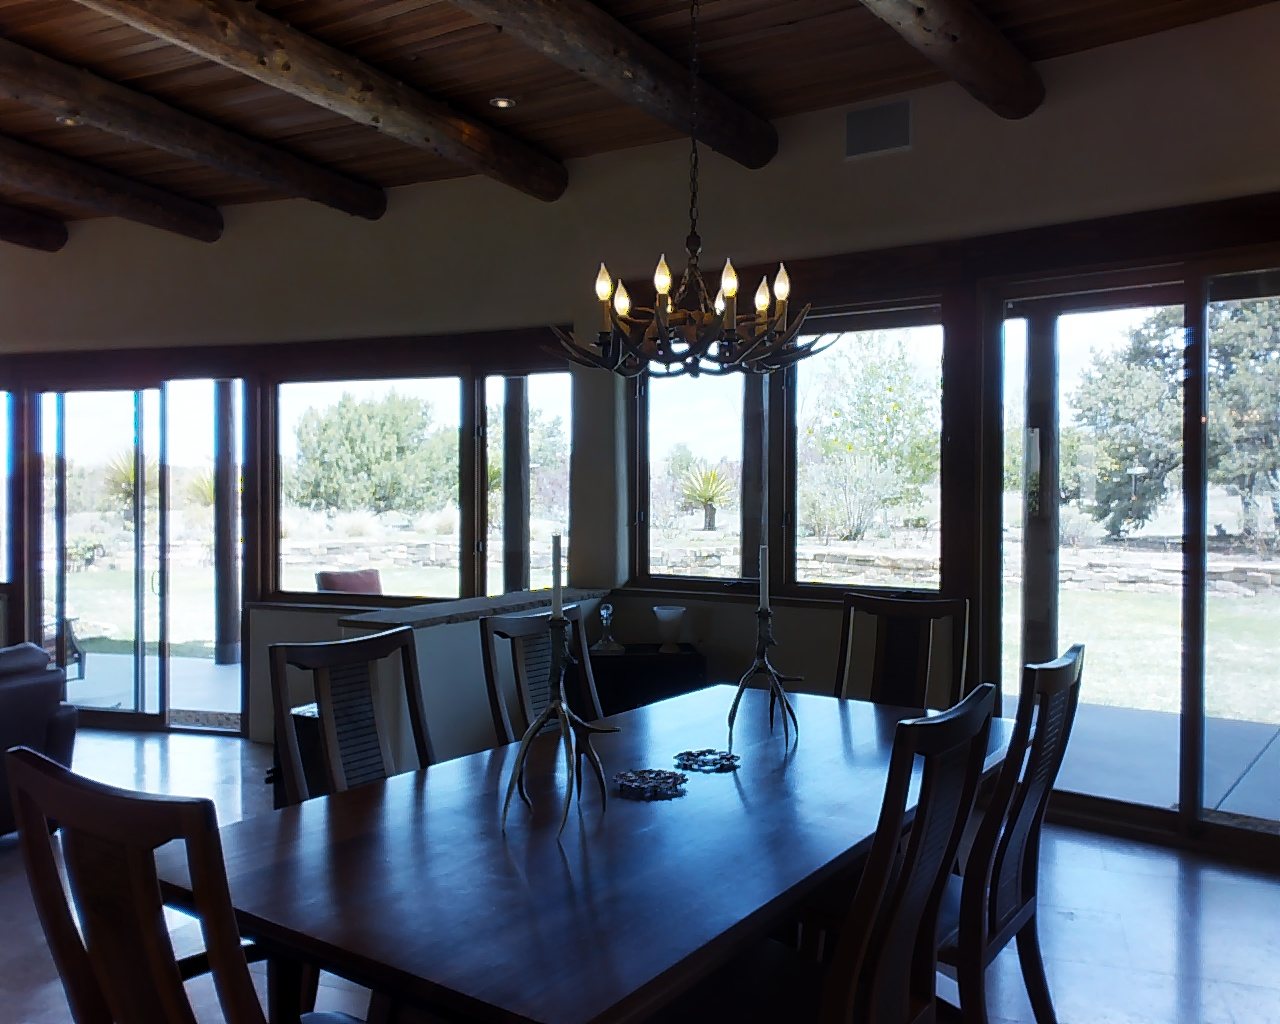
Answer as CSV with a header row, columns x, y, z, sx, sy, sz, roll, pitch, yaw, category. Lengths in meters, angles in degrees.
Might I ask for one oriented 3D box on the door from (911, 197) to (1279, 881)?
x,y,z,sx,sy,sz,roll,pitch,yaw,category
2.149,0.100,4.440,2.130,2.571,0.250,1,1,44,door
